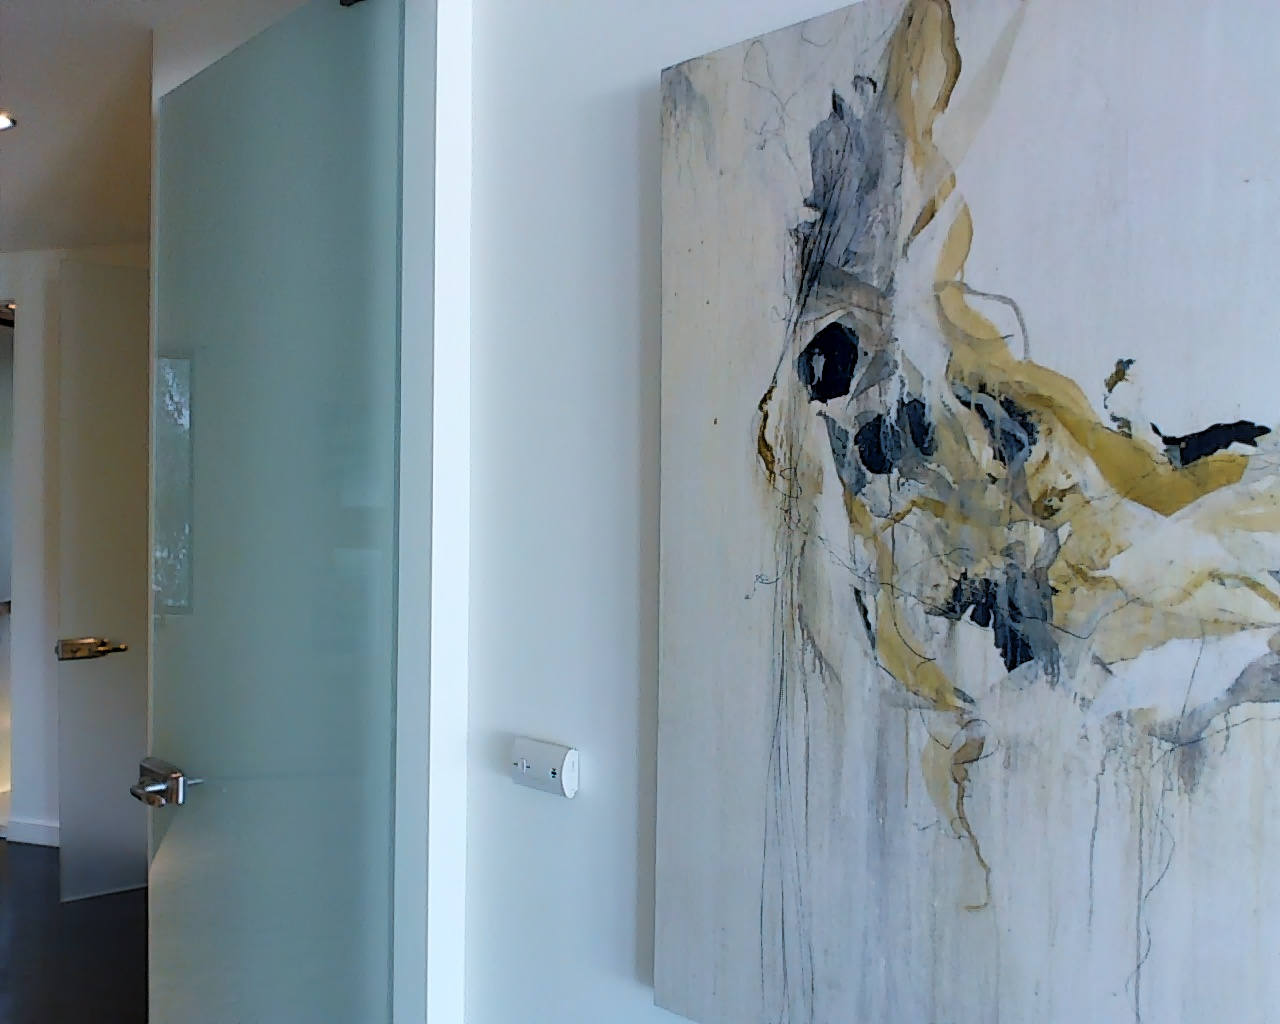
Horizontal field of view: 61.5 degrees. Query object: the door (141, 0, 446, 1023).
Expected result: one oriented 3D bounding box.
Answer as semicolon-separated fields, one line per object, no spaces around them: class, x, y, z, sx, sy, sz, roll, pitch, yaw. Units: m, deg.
door;-0.700;0.310;2.040;0.930;2.420;0.100;1;0;44
